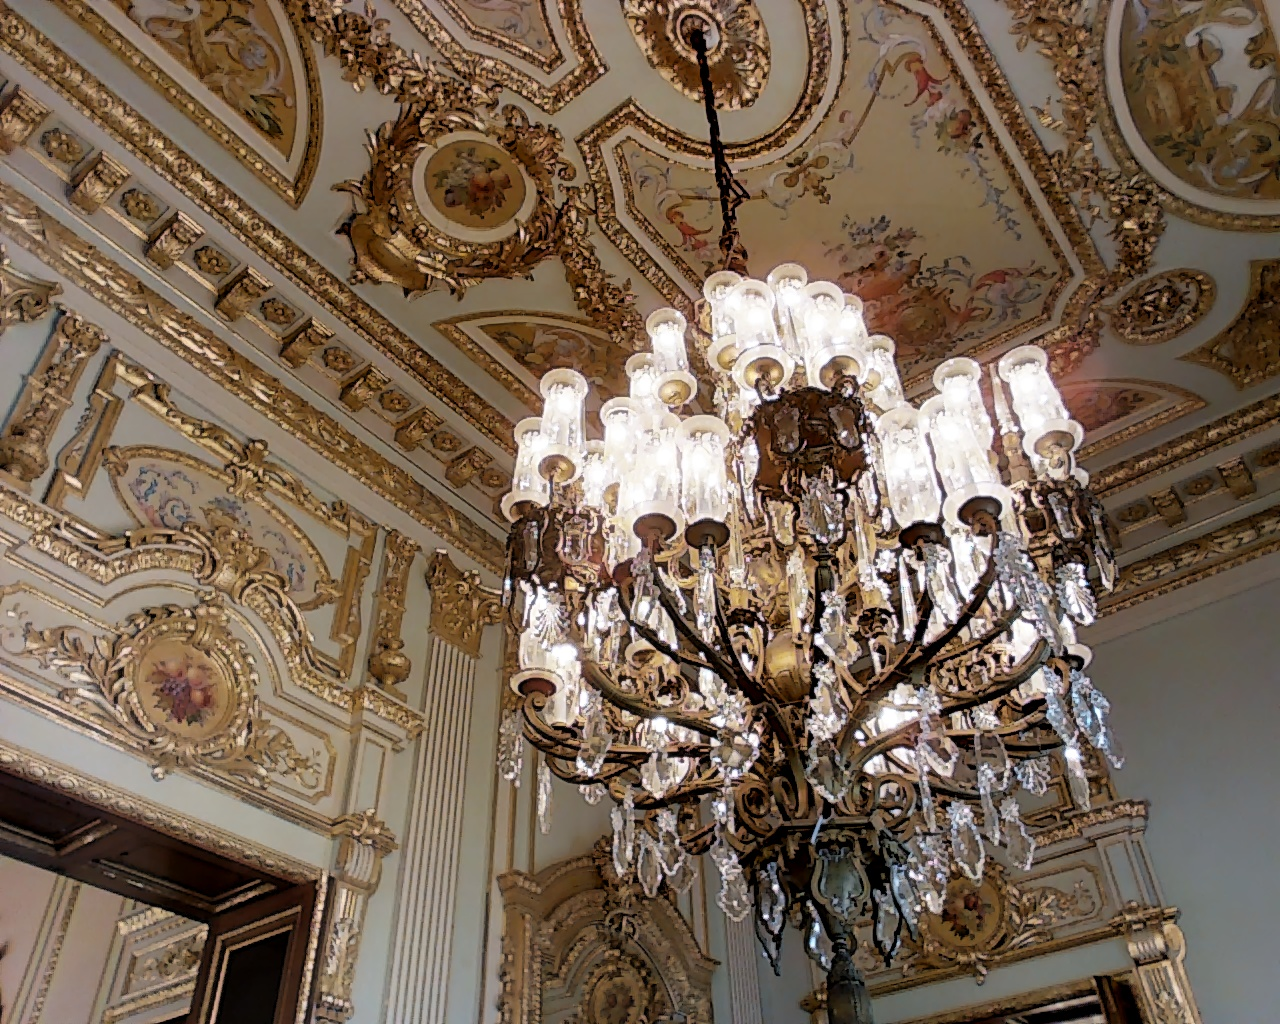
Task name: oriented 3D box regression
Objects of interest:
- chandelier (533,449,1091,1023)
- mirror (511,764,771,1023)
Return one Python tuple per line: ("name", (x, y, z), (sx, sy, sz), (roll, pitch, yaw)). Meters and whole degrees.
("chandelier", (0.370, 0.670, 2.190), (0.760, 0.870, 1.230), (-11, -42, 11))
("mirror", (0.080, 2.922, 5.130), (0.270, 2.961, 1.790), (-28, -47, 27))
